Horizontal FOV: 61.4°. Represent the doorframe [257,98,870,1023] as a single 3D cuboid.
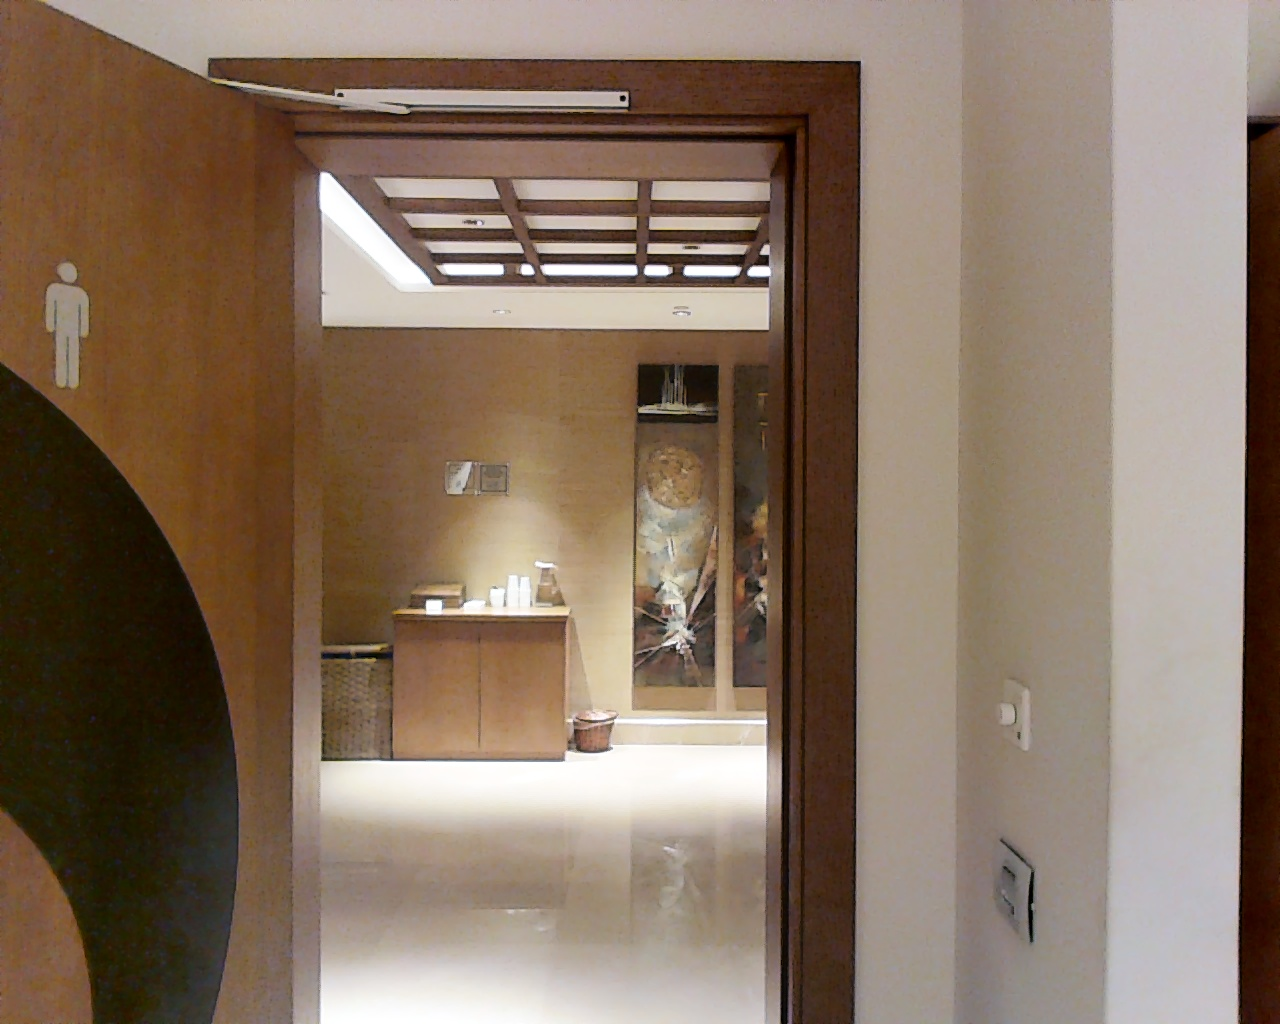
[{"bbox_3d":[-0.120,0.480,1.800,0.910,2.200,0.350,1,0,0],"label":"doorframe"}]
